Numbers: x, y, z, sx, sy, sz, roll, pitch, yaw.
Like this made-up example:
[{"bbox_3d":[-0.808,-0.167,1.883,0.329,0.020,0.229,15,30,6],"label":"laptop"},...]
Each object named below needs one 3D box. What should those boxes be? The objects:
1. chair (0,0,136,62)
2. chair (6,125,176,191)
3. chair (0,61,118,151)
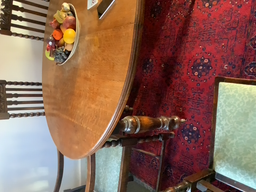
[{"bbox_3d":[-0.500,-0.620,1.790,0.490,1.060,0.430,-2,86,50],"label":"chair"},{"bbox_3d":[-0.200,0.540,1.400,0.450,0.980,0.560,10,95,50],"label":"chair"},{"bbox_3d":[-0.700,0.110,2.020,0.550,0.950,0.490,-55,49,32],"label":"chair"}]
